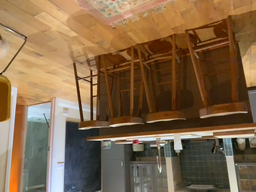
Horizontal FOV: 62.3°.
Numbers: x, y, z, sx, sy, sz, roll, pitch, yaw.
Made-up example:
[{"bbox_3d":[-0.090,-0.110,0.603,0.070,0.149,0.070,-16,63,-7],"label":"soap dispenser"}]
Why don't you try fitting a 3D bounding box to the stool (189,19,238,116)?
[{"bbox_3d":[0.790,-0.240,1.970,0.290,0.800,0.300,-10,165,28],"label":"stool"}]
